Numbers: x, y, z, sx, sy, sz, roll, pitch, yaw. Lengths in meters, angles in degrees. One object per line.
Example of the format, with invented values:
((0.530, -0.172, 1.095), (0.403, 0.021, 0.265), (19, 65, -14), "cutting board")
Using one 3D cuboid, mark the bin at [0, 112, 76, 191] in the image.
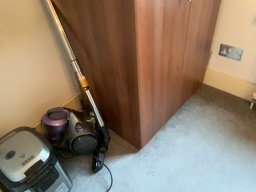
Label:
((-0.480, 0.340, 1.060), (0.280, 0.380, 0.230), (32, 55, 33), "bin")
